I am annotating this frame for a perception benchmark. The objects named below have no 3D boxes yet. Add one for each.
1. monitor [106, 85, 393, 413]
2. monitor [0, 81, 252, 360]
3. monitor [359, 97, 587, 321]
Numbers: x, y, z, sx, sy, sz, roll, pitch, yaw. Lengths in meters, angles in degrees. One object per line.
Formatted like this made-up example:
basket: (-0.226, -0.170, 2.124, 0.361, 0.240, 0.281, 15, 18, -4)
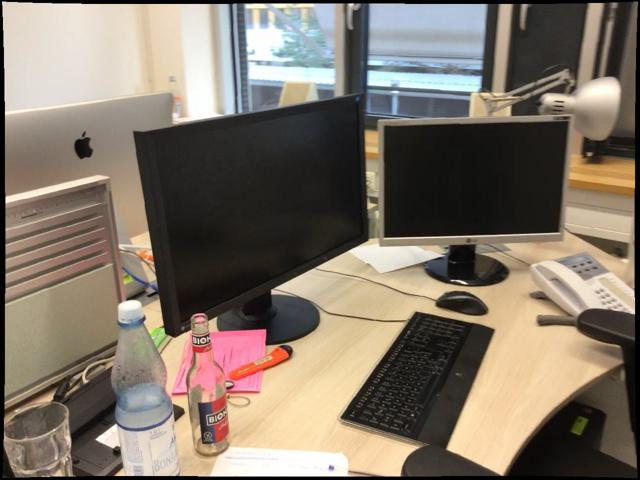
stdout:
monitor: (-0.090, -0.040, 1.260, 0.190, 0.500, 0.660, 14, 26, 32)
monitor: (-0.480, -0.100, 1.410, 0.230, 0.480, 0.650, 14, 26, 32)
monitor: (0.400, -0.120, 1.550, 0.450, 0.440, 0.390, 14, 26, 32)
